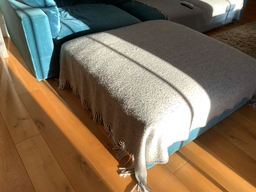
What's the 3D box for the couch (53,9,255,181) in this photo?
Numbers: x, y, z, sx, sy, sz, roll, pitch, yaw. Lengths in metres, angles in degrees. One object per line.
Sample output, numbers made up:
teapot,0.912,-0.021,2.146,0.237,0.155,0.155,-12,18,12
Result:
couch,0.280,-0.230,1.860,1.340,0.520,1.240,-24,47,-31
